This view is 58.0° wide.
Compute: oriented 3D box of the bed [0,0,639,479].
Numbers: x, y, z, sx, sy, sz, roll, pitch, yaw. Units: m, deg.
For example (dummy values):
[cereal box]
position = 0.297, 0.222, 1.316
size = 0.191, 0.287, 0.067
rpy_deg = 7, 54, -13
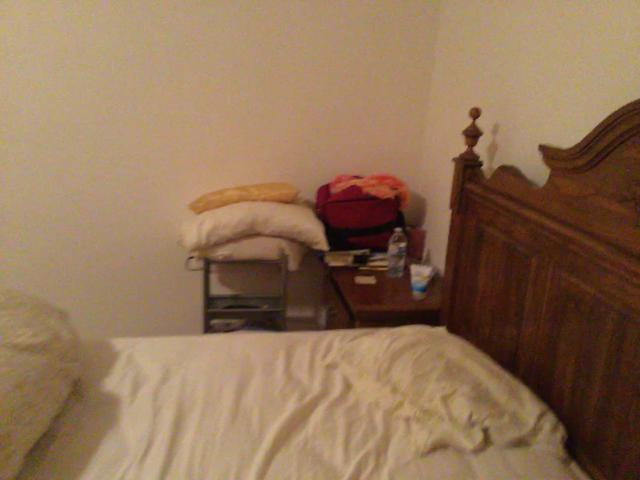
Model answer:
[bed]
position = -0.370, 0.430, 0.910
size = 2.240, 1.660, 2.080
rpy_deg = 6, 14, -11
